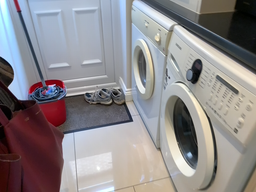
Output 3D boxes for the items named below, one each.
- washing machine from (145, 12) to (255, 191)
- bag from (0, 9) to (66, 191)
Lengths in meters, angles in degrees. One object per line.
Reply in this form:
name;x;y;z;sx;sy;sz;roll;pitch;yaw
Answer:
washing machine;0.530;0.130;1.040;0.660;0.860;0.640;-9;36;-14
bag;-0.320;0.120;0.630;0.160;0.630;0.370;-11;37;-16
